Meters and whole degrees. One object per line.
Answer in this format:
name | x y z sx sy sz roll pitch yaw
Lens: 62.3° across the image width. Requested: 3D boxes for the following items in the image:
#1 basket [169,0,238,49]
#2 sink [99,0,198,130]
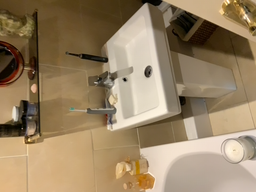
basket | 0.510 -0.560 1.480 0.380 0.190 0.210 -58 45 33
sink | 0.060 -0.120 1.090 0.450 0.180 0.510 -27 65 50
